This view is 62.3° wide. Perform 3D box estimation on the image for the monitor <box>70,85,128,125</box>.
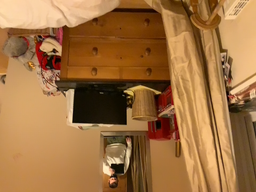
[{"bbox_3d":[-0.230,0.080,1.770,0.470,0.300,0.040,4,163,-18],"label":"monitor"}]
